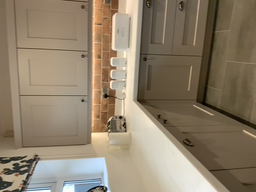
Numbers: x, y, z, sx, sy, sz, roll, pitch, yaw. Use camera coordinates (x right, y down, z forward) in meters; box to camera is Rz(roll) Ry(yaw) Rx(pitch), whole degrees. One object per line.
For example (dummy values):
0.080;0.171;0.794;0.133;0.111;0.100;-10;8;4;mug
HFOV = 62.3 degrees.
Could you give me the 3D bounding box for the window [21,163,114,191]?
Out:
-0.540;0.930;1.920;0.990;0.830;0.090;-133;44;-73;window
